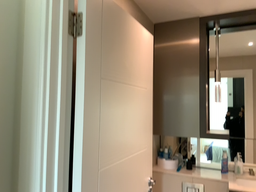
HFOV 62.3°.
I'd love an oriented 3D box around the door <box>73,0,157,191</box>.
[{"bbox_3d":[0.000,0.540,1.190,0.040,2.080,0.880,-1,-3,26],"label":"door"}]
